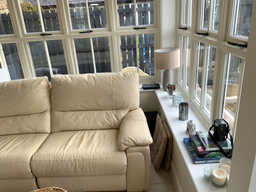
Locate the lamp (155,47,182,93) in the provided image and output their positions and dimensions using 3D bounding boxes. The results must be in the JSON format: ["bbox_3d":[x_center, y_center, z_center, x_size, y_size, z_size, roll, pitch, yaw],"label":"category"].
[{"bbox_3d":[0.490,-0.320,2.620,0.300,0.490,0.310,0,22,9],"label":"lamp"}]

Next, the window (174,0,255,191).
[{"bbox_3d":[0.710,-0.510,1.730,0.250,1.660,2.190,-3,22,3],"label":"window"}]
